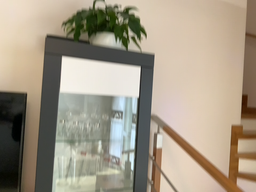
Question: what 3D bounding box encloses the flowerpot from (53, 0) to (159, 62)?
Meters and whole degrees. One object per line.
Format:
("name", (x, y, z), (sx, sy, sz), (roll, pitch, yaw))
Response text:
("flowerpot", (-0.150, -0.400, 1.360), (0.590, 0.250, 0.340), (4, -1, -23))
